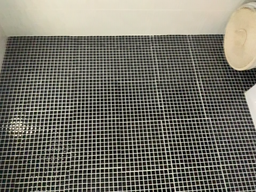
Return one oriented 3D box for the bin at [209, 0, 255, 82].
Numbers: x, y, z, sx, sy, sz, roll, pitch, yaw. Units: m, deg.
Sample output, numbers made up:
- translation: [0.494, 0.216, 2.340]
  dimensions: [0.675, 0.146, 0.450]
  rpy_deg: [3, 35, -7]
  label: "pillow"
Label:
- translation: [0.980, -0.400, 1.440]
  dimensions: [0.450, 0.590, 0.440]
  rpy_deg: [99, 168, -65]
  label: "bin"
